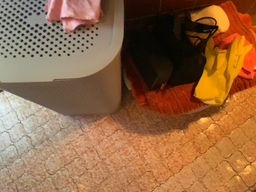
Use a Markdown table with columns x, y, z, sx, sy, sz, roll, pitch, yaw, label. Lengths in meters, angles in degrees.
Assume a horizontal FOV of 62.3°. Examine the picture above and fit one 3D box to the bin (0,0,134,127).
| x | y | z | sx | sy | sz | roll | pitch | yaw | label |
| --- | --- | --- | --- | --- | --- | --- | --- | --- | --- |
| -0.220 | -0.110 | 0.830 | 0.470 | 0.690 | 0.350 | 1 | 73 | 3 | bin |
